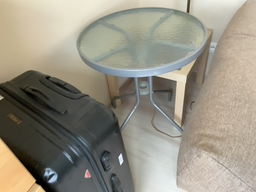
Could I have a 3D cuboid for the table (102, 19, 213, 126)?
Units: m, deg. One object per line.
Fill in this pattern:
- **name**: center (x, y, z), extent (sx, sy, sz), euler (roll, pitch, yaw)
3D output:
- **table**: center (0.230, -0.210, 1.570), extent (0.560, 0.440, 0.560), euler (17, 48, 25)
